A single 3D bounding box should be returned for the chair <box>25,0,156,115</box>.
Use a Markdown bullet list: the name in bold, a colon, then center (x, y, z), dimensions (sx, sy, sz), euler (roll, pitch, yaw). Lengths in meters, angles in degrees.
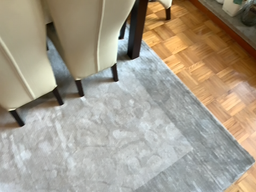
- **chair**: center (-0.230, -0.410, 1.160), dimensions (0.450, 0.930, 0.540), euler (-28, 66, -20)
